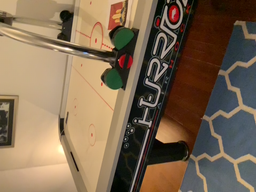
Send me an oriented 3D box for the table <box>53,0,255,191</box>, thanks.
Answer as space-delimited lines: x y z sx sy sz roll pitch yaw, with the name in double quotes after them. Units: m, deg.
0.080 -0.320 1.590 1.240 0.810 2.100 39 121 54 "table"
